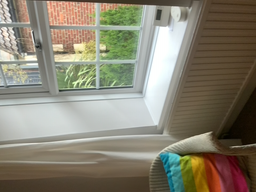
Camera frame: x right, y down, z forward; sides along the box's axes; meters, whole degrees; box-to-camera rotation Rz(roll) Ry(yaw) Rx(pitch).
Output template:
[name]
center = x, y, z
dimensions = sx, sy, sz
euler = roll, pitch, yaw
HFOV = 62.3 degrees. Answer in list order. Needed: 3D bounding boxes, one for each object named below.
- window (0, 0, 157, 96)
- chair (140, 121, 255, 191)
[window]
center = -0.590, -0.340, 1.520
dimensions = 0.090, 1.490, 0.780
euler = -107, 19, -45
[chair]
center = 0.560, 0.500, 1.150
dimensions = 0.670, 0.770, 0.650
euler = 130, 136, -71
